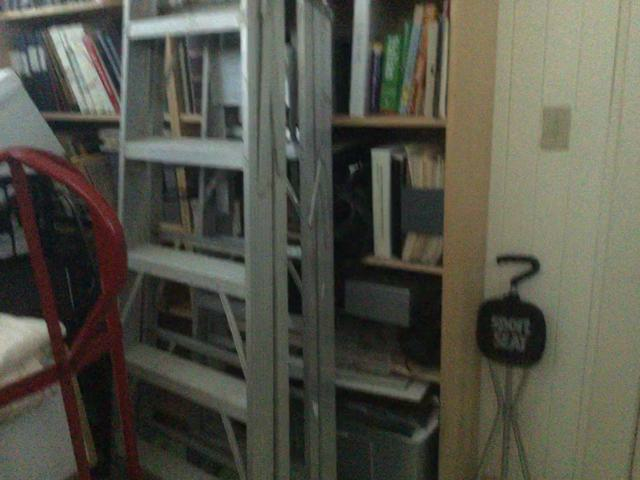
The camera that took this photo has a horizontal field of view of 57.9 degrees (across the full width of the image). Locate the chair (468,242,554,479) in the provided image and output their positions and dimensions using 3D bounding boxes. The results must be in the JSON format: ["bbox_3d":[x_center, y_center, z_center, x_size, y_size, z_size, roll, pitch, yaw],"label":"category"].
[{"bbox_3d":[0.550,0.440,1.700,0.180,0.860,0.100,8,20,30],"label":"chair"}]

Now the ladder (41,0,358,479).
[{"bbox_3d":[-0.290,-0.280,1.460,0.640,2.390,0.410,8,15,31],"label":"ladder"}]

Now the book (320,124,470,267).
[{"bbox_3d":[0.210,-0.140,1.570,0.300,0.310,0.290,8,20,30],"label":"book"}]

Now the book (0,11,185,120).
[{"bbox_3d":[-0.820,-0.600,2.030,0.670,0.320,0.230,8,20,30],"label":"book"}]
